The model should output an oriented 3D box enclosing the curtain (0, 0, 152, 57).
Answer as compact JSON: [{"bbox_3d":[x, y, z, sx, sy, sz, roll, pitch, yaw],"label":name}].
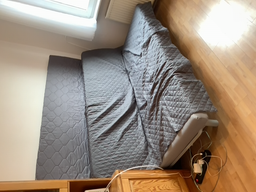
[{"bbox_3d":[-0.940,-1.040,3.040,0.350,2.690,0.290,120,148,-42],"label":"curtain"}]

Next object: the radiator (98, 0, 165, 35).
[{"bbox_3d":[0.150,-1.510,2.920,0.250,0.790,1.190,-105,32,-42],"label":"radiator"}]

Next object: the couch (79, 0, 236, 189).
[{"bbox_3d":[0.030,-0.210,2.580,2.150,0.910,1.120,-105,32,-42],"label":"couch"}]
